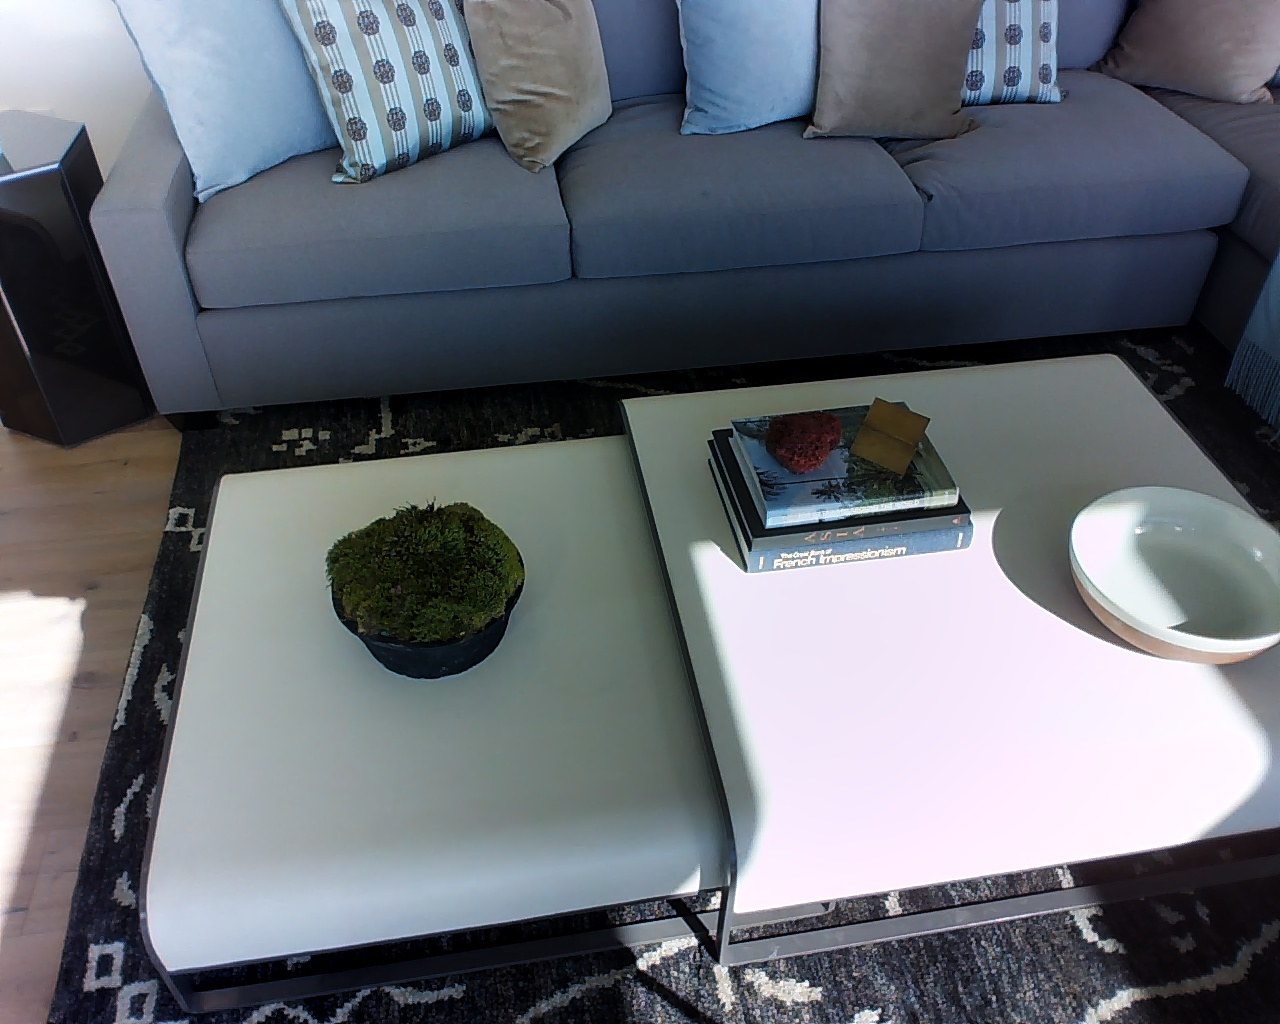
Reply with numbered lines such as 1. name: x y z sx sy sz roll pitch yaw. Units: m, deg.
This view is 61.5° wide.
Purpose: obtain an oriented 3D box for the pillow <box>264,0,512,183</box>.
1. pillow: -0.580 -1.090 2.480 0.390 0.450 0.370 32 51 30

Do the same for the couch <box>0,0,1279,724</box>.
1. couch: 0.670 -0.660 2.670 3.820 0.620 1.890 -6 42 -7
